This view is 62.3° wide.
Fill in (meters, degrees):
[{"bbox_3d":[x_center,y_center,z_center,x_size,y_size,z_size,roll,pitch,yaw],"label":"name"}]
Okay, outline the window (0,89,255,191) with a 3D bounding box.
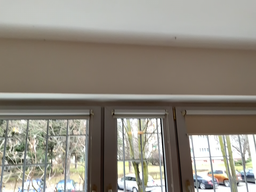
[{"bbox_3d":[0.110,0.590,1.300,2.440,1.220,0.160,1,-15,-12],"label":"window"}]
